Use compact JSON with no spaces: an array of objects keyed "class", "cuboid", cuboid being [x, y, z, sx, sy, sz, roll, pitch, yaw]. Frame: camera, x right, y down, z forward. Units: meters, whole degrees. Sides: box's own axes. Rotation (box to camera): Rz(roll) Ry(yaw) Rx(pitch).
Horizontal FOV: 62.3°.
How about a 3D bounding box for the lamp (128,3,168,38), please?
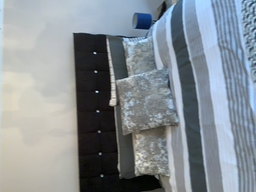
[{"class":"lamp","cuboid":[0.200,-0.770,2.200,0.270,0.320,0.210,155,112,-69]}]
